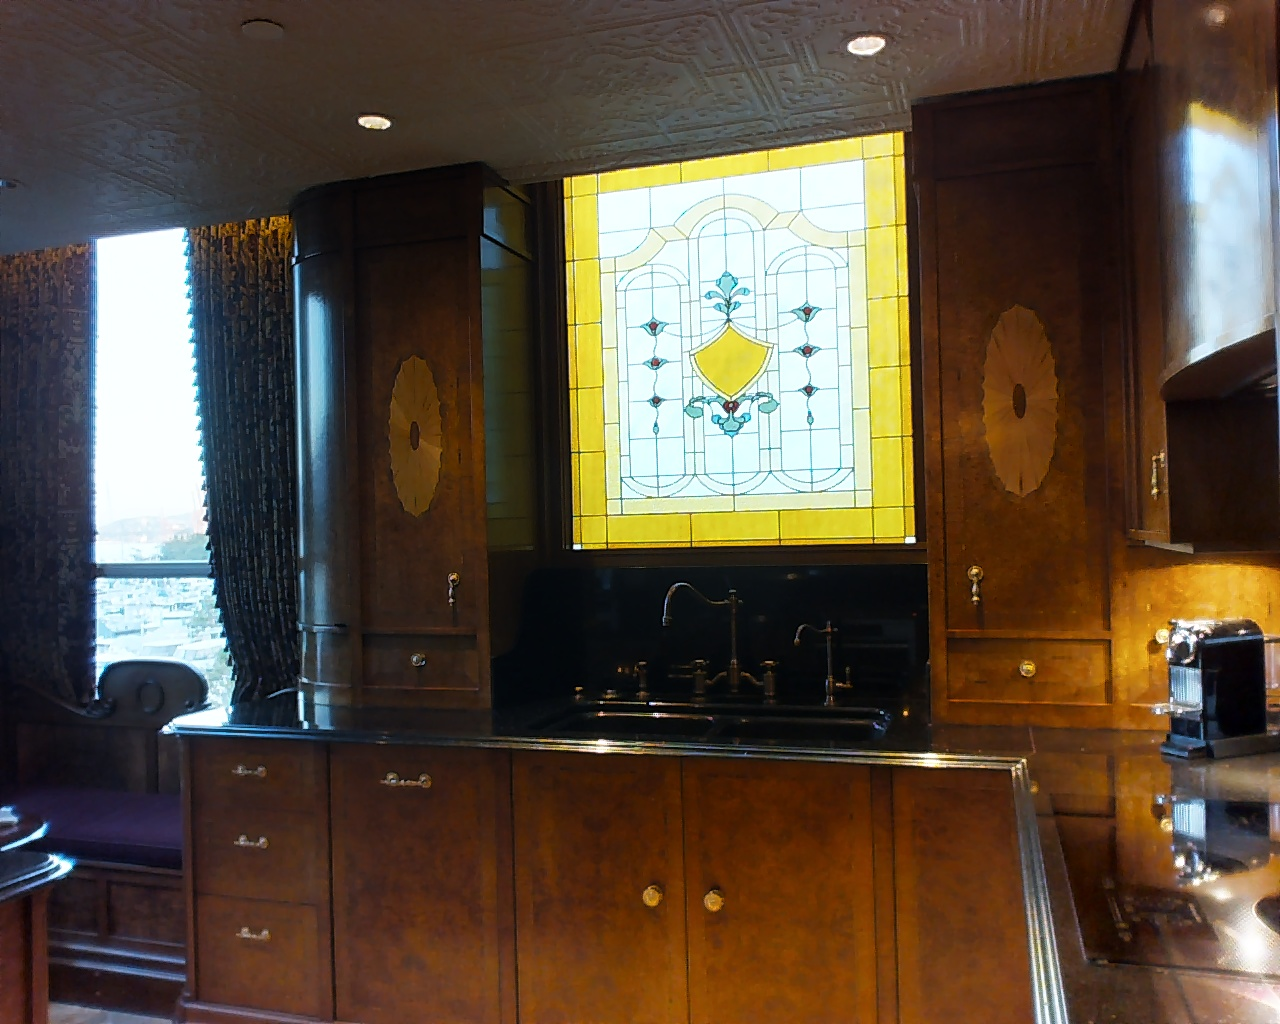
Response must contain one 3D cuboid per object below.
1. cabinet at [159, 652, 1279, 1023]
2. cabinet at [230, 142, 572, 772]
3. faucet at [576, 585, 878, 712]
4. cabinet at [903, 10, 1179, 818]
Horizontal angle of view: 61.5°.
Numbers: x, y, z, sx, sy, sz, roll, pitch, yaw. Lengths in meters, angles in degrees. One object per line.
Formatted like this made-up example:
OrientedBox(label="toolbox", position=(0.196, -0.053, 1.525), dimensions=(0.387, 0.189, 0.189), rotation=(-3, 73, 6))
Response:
OrientedBox(label="cabinet", position=(0.070, 0.970, 1.990), dimensions=(1.550, 0.970, 3.860), rotation=(-1, -1, -27))
OrientedBox(label="cabinet", position=(-0.720, -0.140, 3.290), dimensions=(0.870, 1.720, 0.470), rotation=(-2, -1, 18))
OrientedBox(label="faucet", position=(0.240, 0.380, 3.070), dimensions=(0.840, 0.330, 0.150), rotation=(-2, -1, 18))
OrientedBox(label="cabinet", position=(0.910, -0.210, 2.480), dimensions=(0.530, 1.750, 0.150), rotation=(-2, -1, 18))
